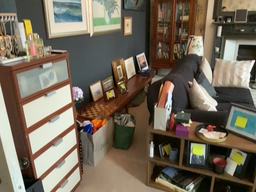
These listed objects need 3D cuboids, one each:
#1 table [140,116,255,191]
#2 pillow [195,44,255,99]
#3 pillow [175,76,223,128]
[{"bbox_3d":[0.560,0.550,1.690,0.860,0.580,0.350,6,22,17],"label":"table"},{"bbox_3d":[1.460,-0.370,3.240,0.560,0.570,0.230,-49,-3,31],"label":"pillow"},{"bbox_3d":[0.700,0.040,2.130,0.180,0.410,0.420,-23,11,-4],"label":"pillow"}]
